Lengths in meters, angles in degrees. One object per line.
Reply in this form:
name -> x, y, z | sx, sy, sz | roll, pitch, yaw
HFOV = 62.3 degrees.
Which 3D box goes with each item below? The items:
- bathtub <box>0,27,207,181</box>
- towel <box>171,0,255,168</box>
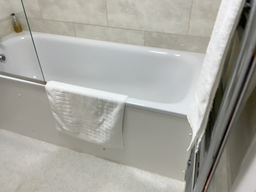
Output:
bathtub -> -0.340, -0.050, 1.630 | 1.670, 0.570, 0.680 | 11, 39, 16
towel -> 0.250, -0.100, 0.560 | 0.140, 0.570, 0.260 | 13, 40, 12
